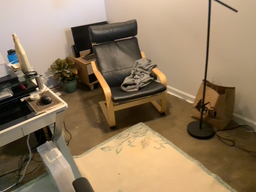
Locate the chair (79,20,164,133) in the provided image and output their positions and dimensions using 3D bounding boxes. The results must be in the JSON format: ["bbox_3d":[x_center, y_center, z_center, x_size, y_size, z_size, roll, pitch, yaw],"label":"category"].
[{"bbox_3d":[-0.090,-0.280,2.430,0.640,0.900,0.880,-15,32,-15],"label":"chair"}]
